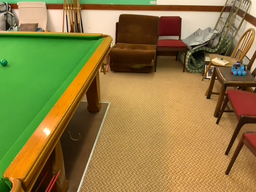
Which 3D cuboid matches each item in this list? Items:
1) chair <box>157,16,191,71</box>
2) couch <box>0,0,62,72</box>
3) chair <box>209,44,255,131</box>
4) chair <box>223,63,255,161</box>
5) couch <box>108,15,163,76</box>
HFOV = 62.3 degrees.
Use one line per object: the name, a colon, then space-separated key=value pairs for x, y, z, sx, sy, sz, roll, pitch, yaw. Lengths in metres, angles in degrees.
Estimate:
chair: x=0.760 y=-0.920 z=3.660 sx=0.430 sy=0.740 sz=0.650 roll=4 pitch=32 yaw=5
couch: x=-1.760 y=-1.070 z=3.670 sx=0.730 sy=0.930 sz=1.000 roll=4 pitch=32 yaw=5
chair: x=1.280 y=-0.090 z=2.290 sx=0.550 sy=0.780 sz=0.470 roll=5 pitch=32 yaw=7
chair: x=1.240 y=0.160 z=1.880 sx=0.500 sy=0.780 sz=0.390 roll=5 pitch=32 yaw=7
couch: x=0.140 y=-0.890 z=3.600 sx=0.790 sy=0.740 sz=0.910 roll=4 pitch=32 yaw=5
